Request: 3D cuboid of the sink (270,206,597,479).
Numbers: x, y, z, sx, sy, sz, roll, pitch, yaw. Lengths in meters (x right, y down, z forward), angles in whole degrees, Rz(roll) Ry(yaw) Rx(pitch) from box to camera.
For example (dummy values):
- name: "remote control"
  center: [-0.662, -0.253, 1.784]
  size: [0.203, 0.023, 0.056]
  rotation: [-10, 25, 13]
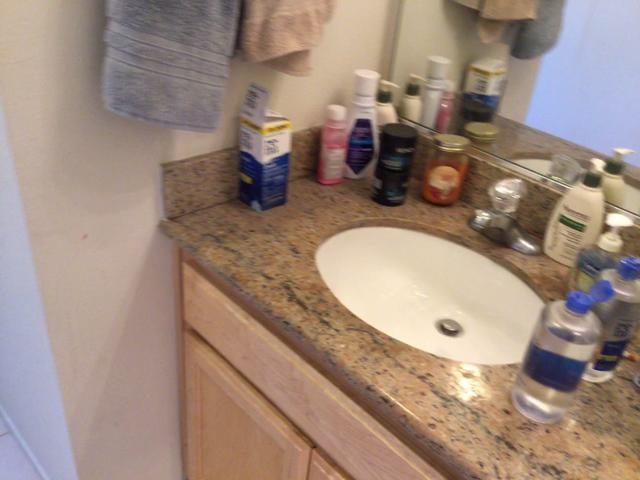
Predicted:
- name: "sink"
  center: [0.180, 0.140, 1.010]
  size: [0.340, 0.160, 0.420]
  rotation: [-21, 41, -37]
